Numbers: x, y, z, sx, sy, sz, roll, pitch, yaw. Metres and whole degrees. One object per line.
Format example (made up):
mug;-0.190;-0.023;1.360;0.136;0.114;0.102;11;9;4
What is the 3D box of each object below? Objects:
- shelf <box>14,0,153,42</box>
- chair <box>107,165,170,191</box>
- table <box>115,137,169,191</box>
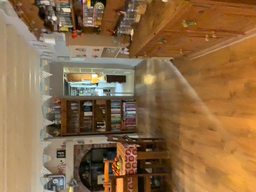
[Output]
shelf;-0.390;-0.860;1.850;1.620;1.040;0.270;172;98;-78
chair;0.160;1.480;3.570;0.450;0.980;0.450;169;101;-78
table;0.200;1.740;3.900;1.020;0.750;1.780;171;99;-78
